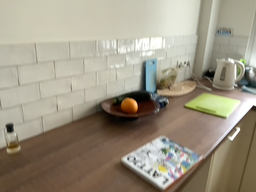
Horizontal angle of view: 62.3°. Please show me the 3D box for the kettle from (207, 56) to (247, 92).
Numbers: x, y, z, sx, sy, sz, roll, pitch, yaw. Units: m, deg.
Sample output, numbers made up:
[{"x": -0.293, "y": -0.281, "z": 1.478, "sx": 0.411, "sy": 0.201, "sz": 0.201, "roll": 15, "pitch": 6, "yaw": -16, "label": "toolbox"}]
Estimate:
[{"x": 0.810, "y": -0.190, "z": 1.730, "sx": 0.180, "sy": 0.210, "sz": 0.350, "roll": 17, "pitch": 24, "yaw": 35, "label": "kettle"}]

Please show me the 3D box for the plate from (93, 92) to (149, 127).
[{"x": -0.040, "y": 0.060, "z": 1.100, "sx": 0.230, "sy": 0.070, "sz": 0.180, "roll": 20, "pitch": 26, "yaw": 40, "label": "plate"}]
